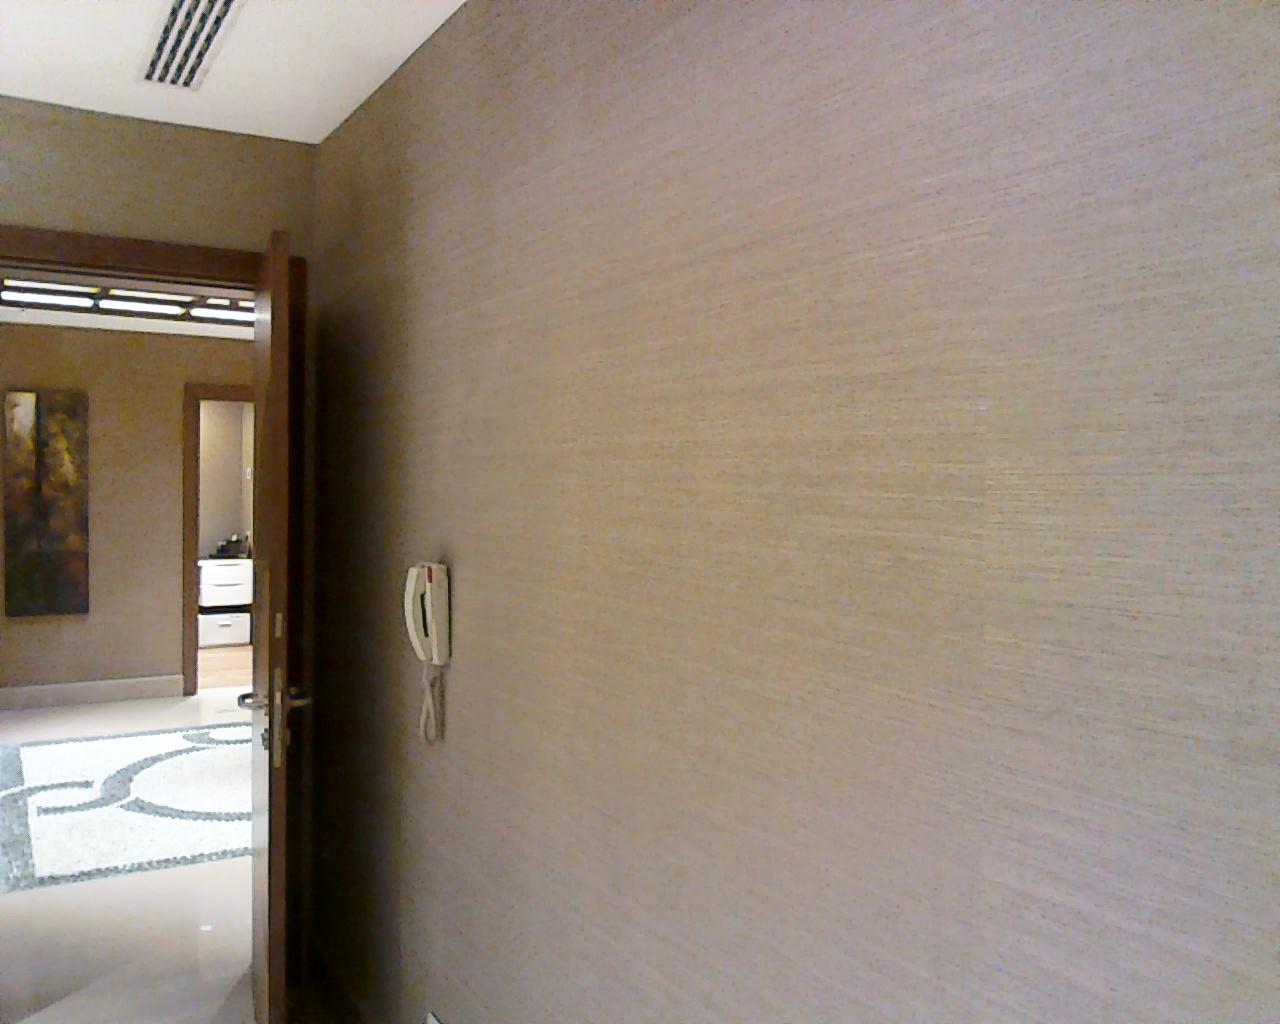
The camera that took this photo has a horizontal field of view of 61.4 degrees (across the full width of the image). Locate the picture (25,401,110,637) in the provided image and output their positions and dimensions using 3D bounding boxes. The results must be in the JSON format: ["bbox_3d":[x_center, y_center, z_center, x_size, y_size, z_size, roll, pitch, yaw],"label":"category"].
[{"bbox_3d":[-3.899,0.050,7.340,0.500,1.570,0.080,0,1,-31],"label":"picture"}]
